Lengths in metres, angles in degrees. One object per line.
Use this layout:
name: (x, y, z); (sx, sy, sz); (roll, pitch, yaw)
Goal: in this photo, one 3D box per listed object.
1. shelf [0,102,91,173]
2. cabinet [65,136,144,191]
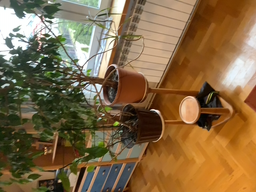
shelf: (-1.050, 0.440, 2.270); (0.420, 1.120, 0.600); (63, 141, 46)
cabinet: (-0.370, 1.040, 3.100); (0.420, 0.900, 0.810); (63, 141, 46)
